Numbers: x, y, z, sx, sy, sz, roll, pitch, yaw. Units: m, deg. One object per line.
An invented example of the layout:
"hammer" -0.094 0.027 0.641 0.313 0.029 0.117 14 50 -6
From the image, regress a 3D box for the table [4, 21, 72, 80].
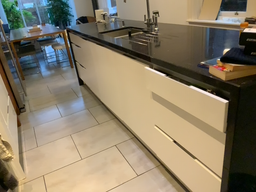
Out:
"table" -2.200 -1.230 5.050 1.030 0.770 2.410 -18 28 -21

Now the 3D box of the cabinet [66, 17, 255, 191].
"cabinet" 0.070 -0.210 2.230 0.660 0.960 2.800 -18 28 -21
